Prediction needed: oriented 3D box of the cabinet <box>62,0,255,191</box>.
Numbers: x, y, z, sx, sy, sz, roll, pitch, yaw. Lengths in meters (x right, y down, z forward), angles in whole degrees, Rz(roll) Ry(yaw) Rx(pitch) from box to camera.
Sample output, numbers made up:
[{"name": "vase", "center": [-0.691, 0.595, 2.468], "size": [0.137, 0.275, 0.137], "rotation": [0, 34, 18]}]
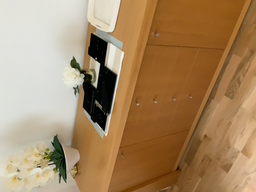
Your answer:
[{"name": "cabinet", "center": [0.110, 0.040, 1.510], "size": [0.560, 0.800, 2.030], "rotation": [43, 128, 43]}]
